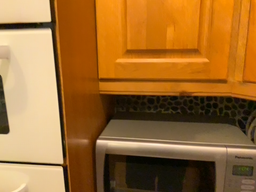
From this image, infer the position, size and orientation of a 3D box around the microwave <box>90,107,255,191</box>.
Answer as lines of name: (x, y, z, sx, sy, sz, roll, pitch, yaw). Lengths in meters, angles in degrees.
microwave: (0.160, 0.240, 0.790, 0.490, 0.290, 0.370, 2, 13, 8)
